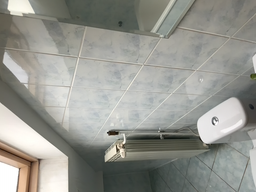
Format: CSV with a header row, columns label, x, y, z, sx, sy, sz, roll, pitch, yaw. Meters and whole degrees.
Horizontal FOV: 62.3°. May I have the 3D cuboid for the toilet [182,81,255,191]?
label,x,y,z,sx,sy,sz,roll,pitch,yaw
toilet,0.840,0.370,1.190,0.440,0.770,0.730,127,141,-54
